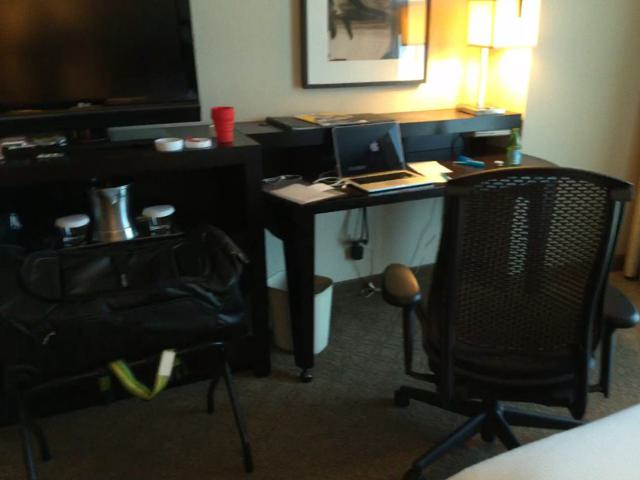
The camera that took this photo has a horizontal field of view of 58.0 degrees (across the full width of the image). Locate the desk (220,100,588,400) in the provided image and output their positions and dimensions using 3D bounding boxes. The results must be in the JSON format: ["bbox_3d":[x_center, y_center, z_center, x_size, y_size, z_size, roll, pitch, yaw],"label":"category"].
[{"bbox_3d":[0.350,-0.060,2.610,1.390,0.980,0.690,-9,22,-24],"label":"desk"}]
